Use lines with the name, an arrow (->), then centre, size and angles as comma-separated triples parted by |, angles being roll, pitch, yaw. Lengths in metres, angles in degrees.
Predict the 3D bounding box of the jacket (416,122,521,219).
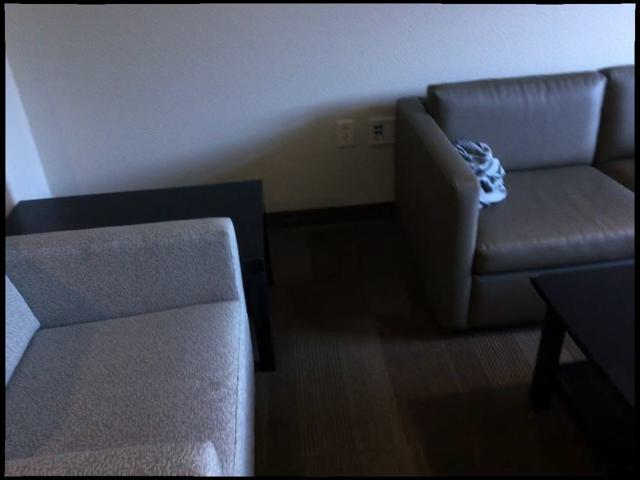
jacket -> 0.559, -0.271, 2.150 | 0.290, 0.160, 0.400 | 12, 36, 20
